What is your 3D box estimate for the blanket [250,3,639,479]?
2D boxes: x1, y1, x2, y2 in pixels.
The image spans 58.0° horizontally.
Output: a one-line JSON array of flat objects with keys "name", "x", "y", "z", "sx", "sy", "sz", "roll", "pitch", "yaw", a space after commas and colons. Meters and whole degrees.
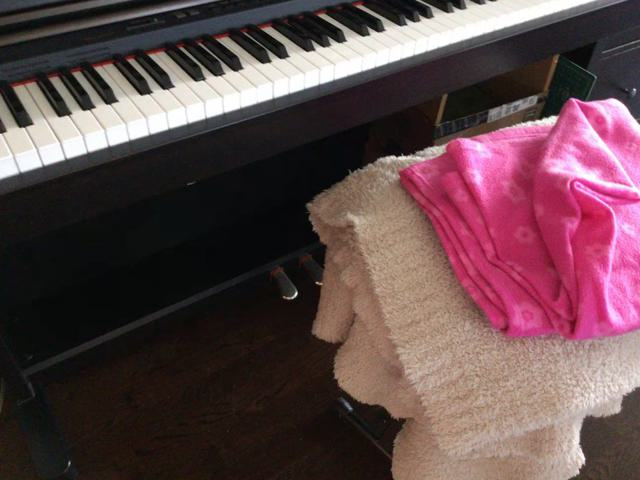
[{"name": "blanket", "x": 0.300, "y": 0.090, "z": 0.950, "sx": 0.640, "sy": 0.640, "sz": 0.510, "roll": -24, "pitch": 53, "yaw": -25}]
